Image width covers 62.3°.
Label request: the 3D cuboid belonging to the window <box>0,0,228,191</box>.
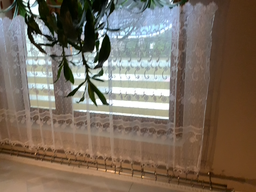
[{"bbox_3d":[-0.400,-0.200,1.830,2.200,1.670,0.210,4,-167,19],"label":"window"}]
